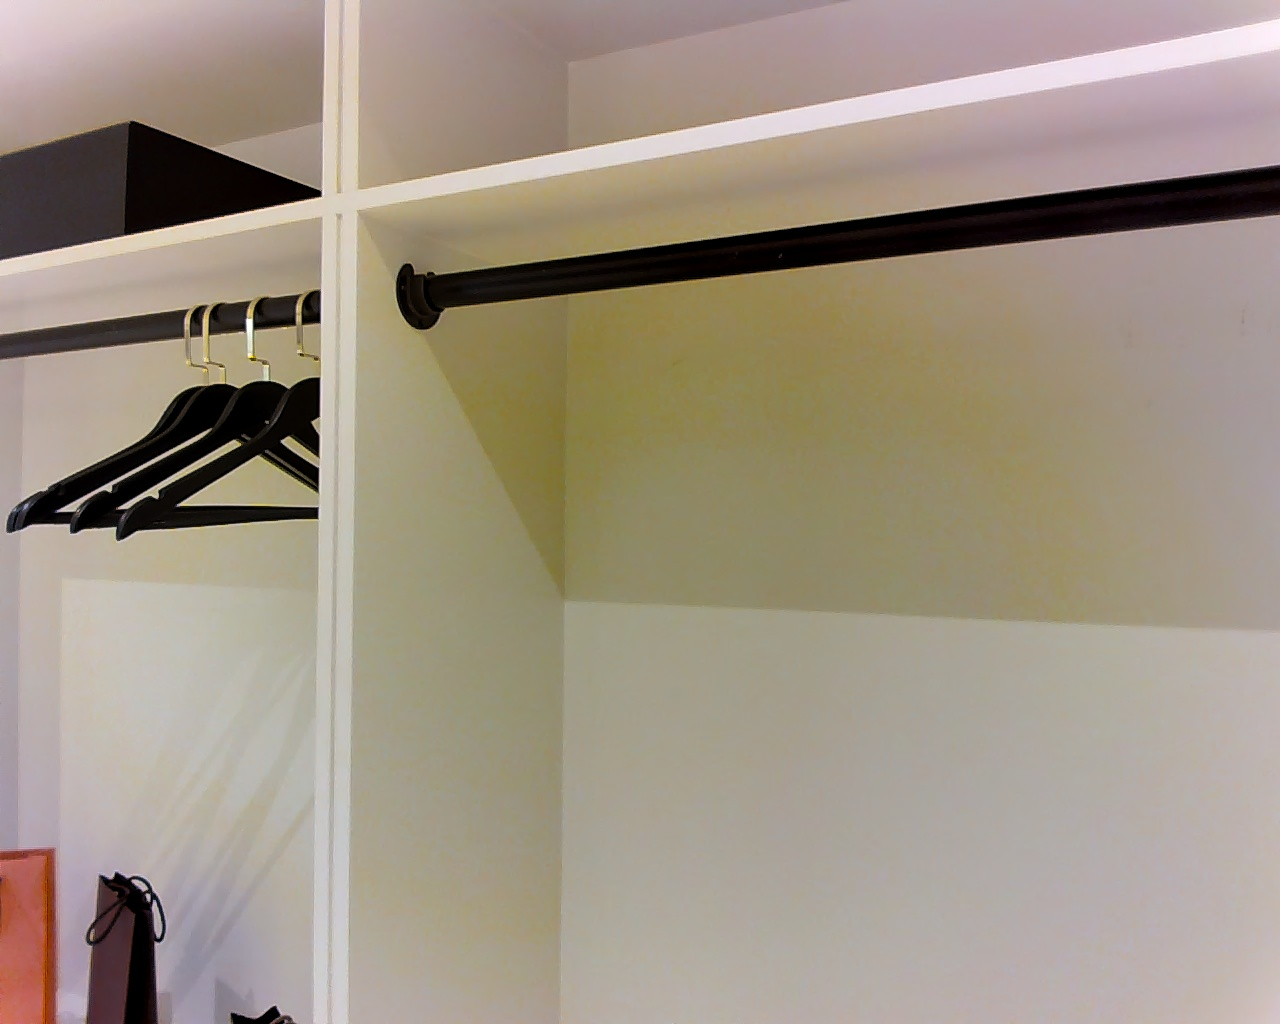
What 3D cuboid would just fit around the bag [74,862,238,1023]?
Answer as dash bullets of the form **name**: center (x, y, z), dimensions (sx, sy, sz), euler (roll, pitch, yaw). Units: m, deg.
- **bag**: center (-0.660, 0.650, 1.460), dimensions (0.150, 0.270, 0.200), euler (2, -1, -40)
